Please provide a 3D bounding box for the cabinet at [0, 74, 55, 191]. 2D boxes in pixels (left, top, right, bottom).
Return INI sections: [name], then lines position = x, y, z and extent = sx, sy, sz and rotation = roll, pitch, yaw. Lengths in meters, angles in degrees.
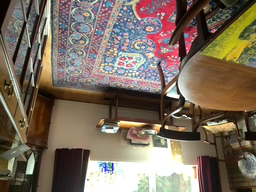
[cabinet]
position = -1.330, 0.670, 2.710
extent = 0.490, 1.810, 0.490
rotation = 8, 155, -18
